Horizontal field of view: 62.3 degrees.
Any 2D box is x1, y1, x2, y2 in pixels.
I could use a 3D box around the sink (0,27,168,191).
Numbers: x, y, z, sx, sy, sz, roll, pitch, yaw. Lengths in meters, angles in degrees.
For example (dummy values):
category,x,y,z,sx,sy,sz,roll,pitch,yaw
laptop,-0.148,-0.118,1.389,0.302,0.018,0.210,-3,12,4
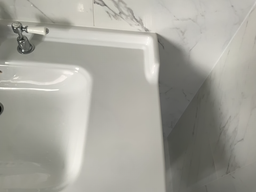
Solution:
category,x,y,z,sx,sy,sz,roll,pitch,yaw
sink,-0.420,0.050,0.570,1.000,0.140,0.530,3,58,-5
